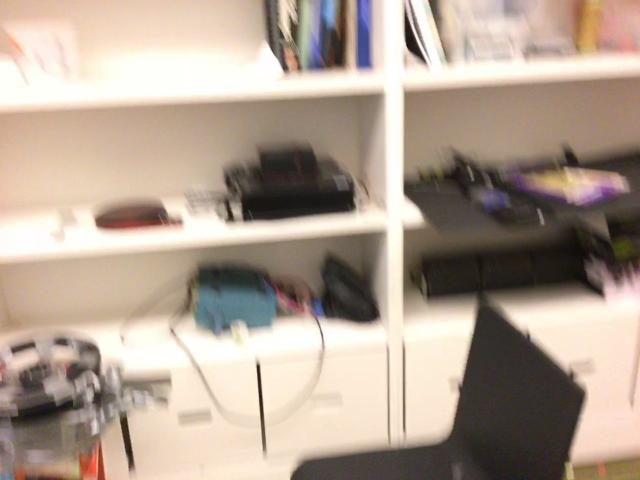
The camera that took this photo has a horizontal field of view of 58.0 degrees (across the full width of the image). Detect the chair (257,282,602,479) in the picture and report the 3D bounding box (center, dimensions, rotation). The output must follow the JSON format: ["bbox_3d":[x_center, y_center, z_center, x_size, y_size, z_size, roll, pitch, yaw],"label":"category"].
[{"bbox_3d":[0.200,0.580,1.290,0.560,0.780,0.480,-8,18,-7],"label":"chair"}]

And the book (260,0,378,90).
[{"bbox_3d":[-0.010,-0.580,1.600,0.260,0.270,0.240,-11,18,-6],"label":"book"}]

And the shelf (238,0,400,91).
[{"bbox_3d":[-0.010,-0.590,1.590,0.400,0.300,0.210,-8,18,-7],"label":"shelf"}]

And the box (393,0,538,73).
[{"bbox_3d":[0.370,-0.590,1.500,0.310,0.270,0.200,-8,18,-7],"label":"box"}]
